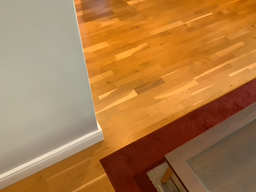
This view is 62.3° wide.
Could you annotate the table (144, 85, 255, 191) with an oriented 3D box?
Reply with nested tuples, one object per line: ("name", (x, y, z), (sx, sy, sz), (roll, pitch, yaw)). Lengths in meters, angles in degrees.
("table", (0.780, 0.320, 1.190), (1.200, 0.440, 0.610), (-24, 59, -18))
